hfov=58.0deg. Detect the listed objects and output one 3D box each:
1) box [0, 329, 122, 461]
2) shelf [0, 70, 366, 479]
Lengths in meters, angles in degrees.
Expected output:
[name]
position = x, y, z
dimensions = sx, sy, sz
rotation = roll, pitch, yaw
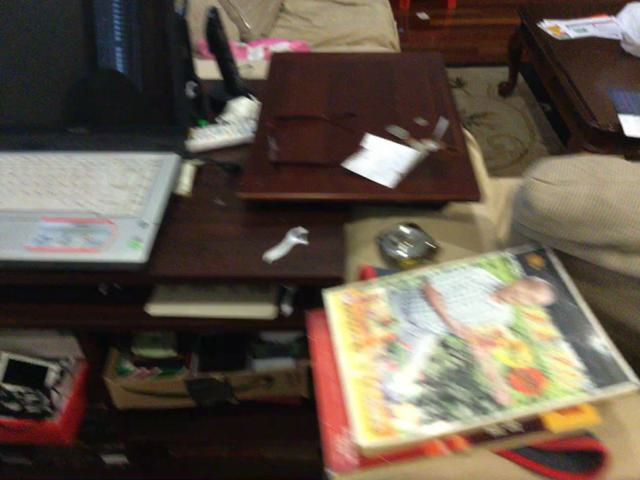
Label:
[box]
position = -0.560, 0.270, 0.990
dimensions = 0.370, 0.120, 0.170
rotation = -4, 42, 2
[shelf]
position = -0.370, 0.190, 1.080
dimensions = 0.870, 0.800, 0.430
rotation = -4, 42, 2
